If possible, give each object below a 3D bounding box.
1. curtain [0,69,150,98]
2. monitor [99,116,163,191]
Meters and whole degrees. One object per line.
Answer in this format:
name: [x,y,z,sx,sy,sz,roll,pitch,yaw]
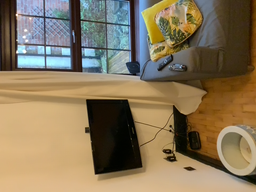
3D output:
curtain: [-0.680,-0.120,2.010,0.180,1.900,0.240,-174,82,-68]
monitor: [0.010,0.480,1.850,0.030,0.430,0.640,117,144,-51]
